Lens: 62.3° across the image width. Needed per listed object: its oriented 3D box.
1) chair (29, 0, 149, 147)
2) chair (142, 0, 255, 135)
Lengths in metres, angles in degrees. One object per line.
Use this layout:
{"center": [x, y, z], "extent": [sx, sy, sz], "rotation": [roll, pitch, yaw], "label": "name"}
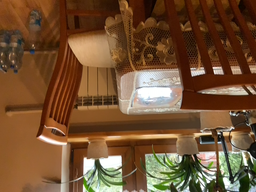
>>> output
{"center": [-0.190, -0.210, 1.320], "extent": [0.560, 0.980, 0.420], "rotation": [-4, 162, 3], "label": "chair"}
{"center": [0.300, -0.340, 1.020], "extent": [0.390, 0.960, 0.530], "rotation": [-2, 162, -1], "label": "chair"}
